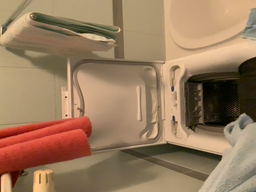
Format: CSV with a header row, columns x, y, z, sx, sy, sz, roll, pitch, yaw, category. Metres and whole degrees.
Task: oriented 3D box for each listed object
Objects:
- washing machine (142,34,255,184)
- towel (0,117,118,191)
x,y,z,sx,sy,sz,roll,pitch,yaw,category
0.590,0.040,1.120,0.600,0.820,0.470,-2,89,57,washing machine
-0.320,0.160,0.550,0.280,0.510,0.150,-1,90,57,towel
